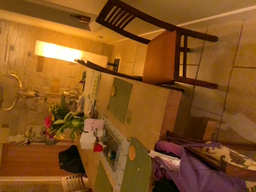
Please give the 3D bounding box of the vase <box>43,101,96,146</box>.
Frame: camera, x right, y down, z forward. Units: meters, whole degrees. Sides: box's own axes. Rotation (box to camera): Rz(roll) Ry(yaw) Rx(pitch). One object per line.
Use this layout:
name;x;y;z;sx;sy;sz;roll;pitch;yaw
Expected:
vase;-0.670;0.290;2.360;0.480;0.470;0.320;-150;70;-66
